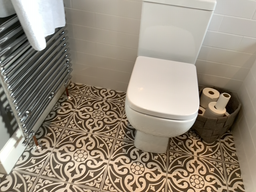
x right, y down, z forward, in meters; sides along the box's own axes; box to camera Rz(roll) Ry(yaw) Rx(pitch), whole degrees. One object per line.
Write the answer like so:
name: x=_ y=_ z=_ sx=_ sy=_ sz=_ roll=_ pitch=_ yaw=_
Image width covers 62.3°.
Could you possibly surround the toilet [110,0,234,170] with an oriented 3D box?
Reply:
toilet: x=0.170 y=-0.100 z=1.170 sx=0.380 sy=0.780 sz=0.600 roll=11 pitch=42 yaw=4
